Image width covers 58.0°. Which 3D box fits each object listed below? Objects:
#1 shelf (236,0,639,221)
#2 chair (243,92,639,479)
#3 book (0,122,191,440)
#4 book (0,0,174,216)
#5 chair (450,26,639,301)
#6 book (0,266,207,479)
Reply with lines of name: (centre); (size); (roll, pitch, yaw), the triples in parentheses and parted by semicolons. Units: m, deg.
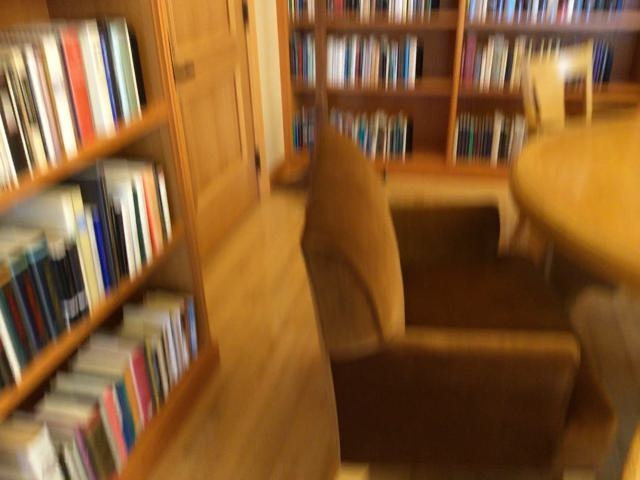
shelf: (1.620, -1.290, 2.900); (4.120, 2.320, 0.620); (4, 26, 14)
chair: (0.330, 0.190, 1.520); (0.800, 0.950, 0.870); (0, 25, 6)
book: (-0.590, 0.020, 1.320); (0.200, 0.380, 0.810); (4, 26, 14)
book: (-0.580, -0.290, 1.160); (0.170, 0.310, 0.800); (4, 26, 14)
chair: (1.100, -0.390, 2.480); (0.770, 0.900, 0.680); (-20, 30, -32)
book: (-0.580, 0.410, 1.520); (0.210, 0.340, 0.790); (4, 26, 14)
